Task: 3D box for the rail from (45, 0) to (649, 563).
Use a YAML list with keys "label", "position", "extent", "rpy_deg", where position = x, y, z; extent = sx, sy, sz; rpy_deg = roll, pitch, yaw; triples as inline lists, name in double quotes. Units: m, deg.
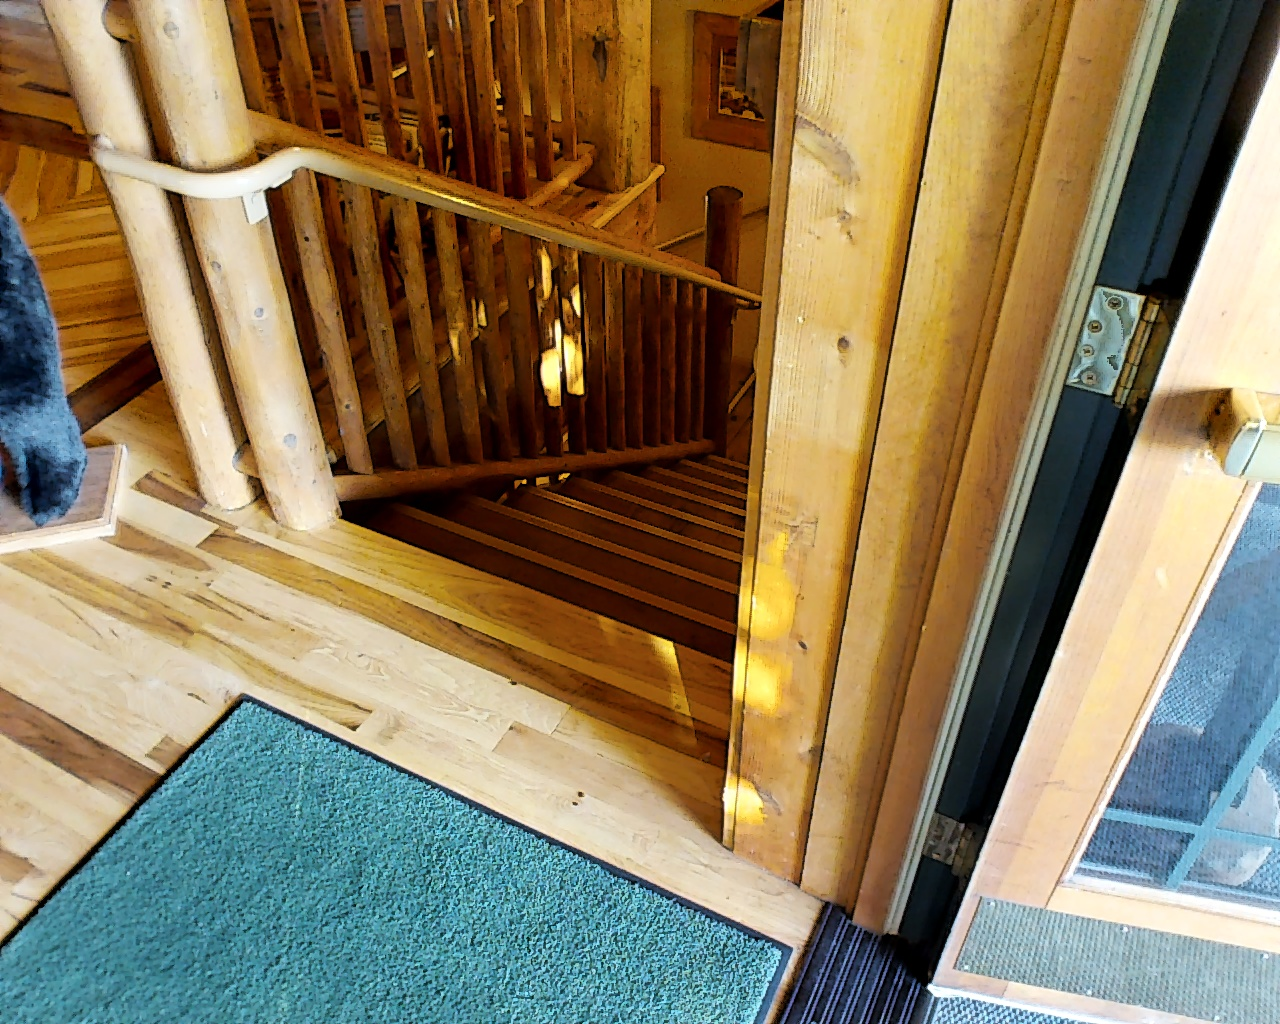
- label: "rail"
  position: [-0.510, -0.780, 2.690]
  extent: [0.370, 0.940, 1.640]
  rpy_deg: [19, 45, 20]
